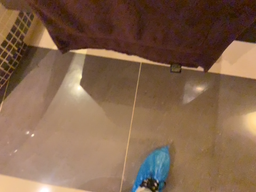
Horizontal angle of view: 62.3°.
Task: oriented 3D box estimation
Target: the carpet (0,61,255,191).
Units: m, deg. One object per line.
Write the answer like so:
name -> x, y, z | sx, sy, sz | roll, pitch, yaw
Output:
carpet -> 0.250, 0.230, 0.940 | 1.850, 0.060, 0.530 | 8, 78, 3
